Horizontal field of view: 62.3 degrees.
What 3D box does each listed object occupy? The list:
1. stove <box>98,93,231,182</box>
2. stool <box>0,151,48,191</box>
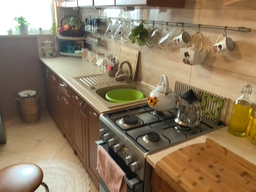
[{"bbox_3d":[0.200,0.190,1.330,0.610,0.170,0.530,-11,25,-30],"label":"stove"},{"bbox_3d":[-0.730,0.700,1.420,0.340,0.470,0.330,-10,24,-28],"label":"stool"}]
